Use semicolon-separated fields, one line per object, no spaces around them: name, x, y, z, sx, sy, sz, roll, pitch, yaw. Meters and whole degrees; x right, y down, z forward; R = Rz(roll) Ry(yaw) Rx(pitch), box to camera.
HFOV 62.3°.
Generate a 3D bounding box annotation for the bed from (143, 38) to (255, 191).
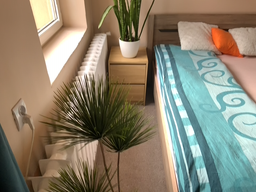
bed;1.080;0.150;1.760;1.810;0.620;2.080;0;33;1
